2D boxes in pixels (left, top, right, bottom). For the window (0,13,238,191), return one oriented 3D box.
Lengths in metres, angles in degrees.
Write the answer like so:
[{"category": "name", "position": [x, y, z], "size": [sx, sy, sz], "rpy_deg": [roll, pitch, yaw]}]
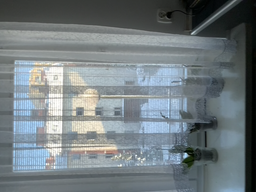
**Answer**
[{"category": "window", "position": [-0.250, 0.330, 1.050], "size": [0.100, 1.610, 1.400], "rpy_deg": [-174, 85, -83]}]
